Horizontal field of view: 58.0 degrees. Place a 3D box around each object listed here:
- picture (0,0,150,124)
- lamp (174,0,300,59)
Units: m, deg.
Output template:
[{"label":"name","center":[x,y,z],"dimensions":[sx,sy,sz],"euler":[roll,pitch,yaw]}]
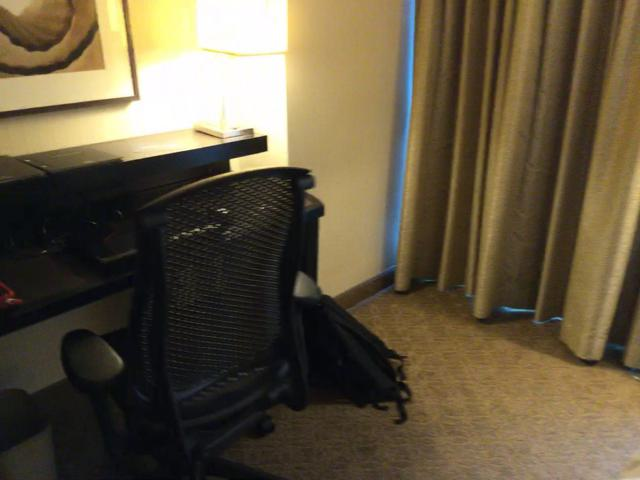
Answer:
[{"label":"picture","center":[-0.880,-0.770,1.750],"dimensions":[0.660,0.780,0.070],"euler":[-20,27,-41]},{"label":"lamp","center":[-0.290,-0.760,2.000],"dimensions":[0.260,0.240,0.350],"euler":[-20,27,-41]}]
